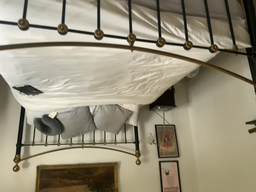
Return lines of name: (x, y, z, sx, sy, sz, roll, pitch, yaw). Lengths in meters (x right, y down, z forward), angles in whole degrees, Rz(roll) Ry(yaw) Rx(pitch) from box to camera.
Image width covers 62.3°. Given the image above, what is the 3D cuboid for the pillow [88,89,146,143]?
pillow: (-0.140, 0.230, 2.670, 0.530, 0.450, 0.230, 43, 133, 18)
